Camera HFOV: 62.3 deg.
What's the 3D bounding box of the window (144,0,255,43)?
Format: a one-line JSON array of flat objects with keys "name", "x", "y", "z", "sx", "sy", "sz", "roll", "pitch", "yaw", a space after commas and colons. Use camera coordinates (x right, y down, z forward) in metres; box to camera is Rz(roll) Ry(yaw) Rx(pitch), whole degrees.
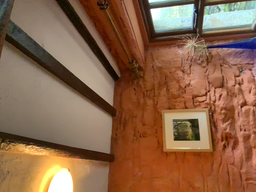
[{"name": "window", "x": 0.700, "y": -0.820, "z": 1.930, "sx": 0.870, "sy": 1.050, "sz": 0.090, "roll": 57, "pitch": -147, "yaw": -65}]
